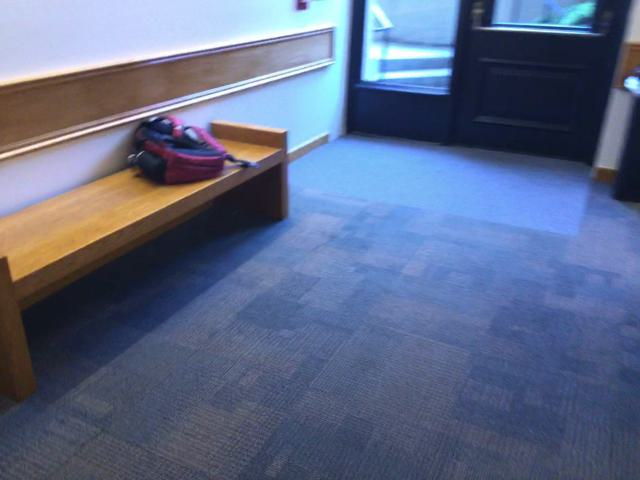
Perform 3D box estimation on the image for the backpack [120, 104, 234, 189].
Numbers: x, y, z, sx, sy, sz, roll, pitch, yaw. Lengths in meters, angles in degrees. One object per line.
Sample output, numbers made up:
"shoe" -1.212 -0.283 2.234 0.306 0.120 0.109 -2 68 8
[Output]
"backpack" -0.680 -0.460 2.740 0.400 0.250 0.430 -14 28 -25
